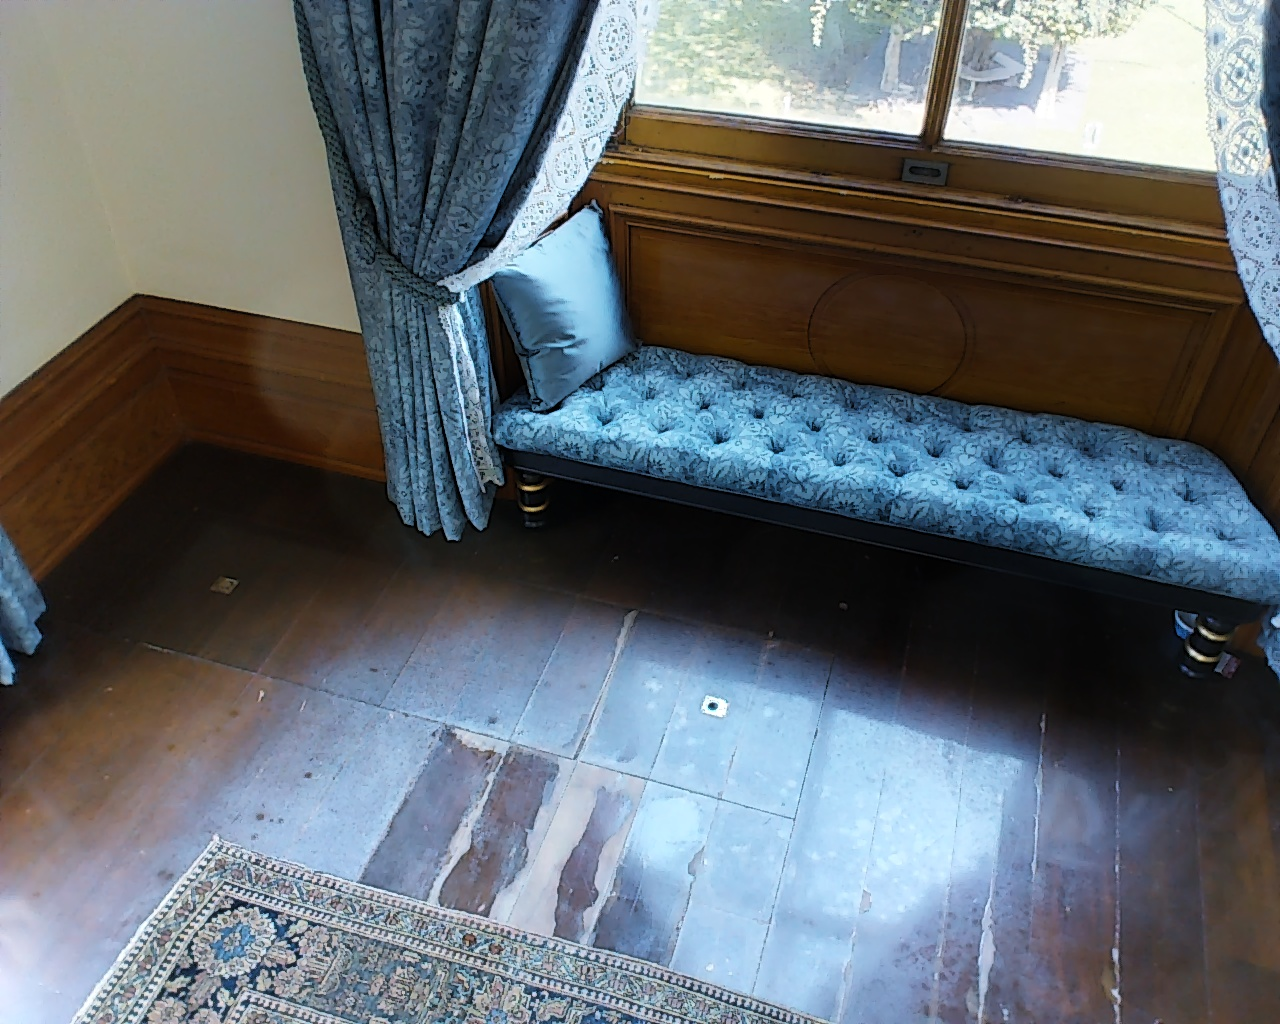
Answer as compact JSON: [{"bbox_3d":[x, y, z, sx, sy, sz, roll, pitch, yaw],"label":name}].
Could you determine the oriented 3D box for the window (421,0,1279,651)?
[{"bbox_3d":[0.470,-1.260,1.010,1.650,3.550,0.130,13,44,13],"label":"window"}]

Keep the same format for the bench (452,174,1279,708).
[{"bbox_3d":[0.460,-0.170,2.100,1.530,0.580,0.460,13,44,13],"label":"bench"}]
